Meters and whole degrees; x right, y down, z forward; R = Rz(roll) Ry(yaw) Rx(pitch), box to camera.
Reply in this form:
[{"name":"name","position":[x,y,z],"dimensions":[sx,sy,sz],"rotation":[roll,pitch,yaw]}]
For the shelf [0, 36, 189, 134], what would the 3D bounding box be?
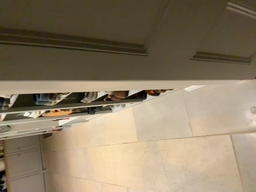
[{"name":"shelf","position":[-0.780,0.030,1.570],"dimensions":[1.270,2.190,0.340],"rotation":[-23,75,52]}]
